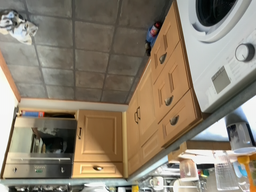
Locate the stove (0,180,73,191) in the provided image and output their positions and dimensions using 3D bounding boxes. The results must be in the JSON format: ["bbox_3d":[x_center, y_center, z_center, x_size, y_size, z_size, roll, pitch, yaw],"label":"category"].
[{"bbox_3d":[-0.890,0.930,2.130,0.630,0.060,0.590,3,151,-11],"label":"stove"}]
